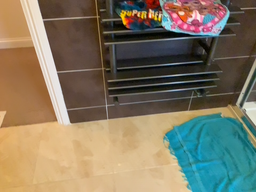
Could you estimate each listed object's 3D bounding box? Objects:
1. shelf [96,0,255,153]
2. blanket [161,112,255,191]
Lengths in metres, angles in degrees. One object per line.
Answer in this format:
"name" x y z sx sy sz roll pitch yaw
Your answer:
"shelf" 0.200 -0.290 0.990 0.660 1.390 0.270 -5 42 -7
"blanket" 0.550 0.380 1.260 0.540 0.010 0.730 -5 42 -6
